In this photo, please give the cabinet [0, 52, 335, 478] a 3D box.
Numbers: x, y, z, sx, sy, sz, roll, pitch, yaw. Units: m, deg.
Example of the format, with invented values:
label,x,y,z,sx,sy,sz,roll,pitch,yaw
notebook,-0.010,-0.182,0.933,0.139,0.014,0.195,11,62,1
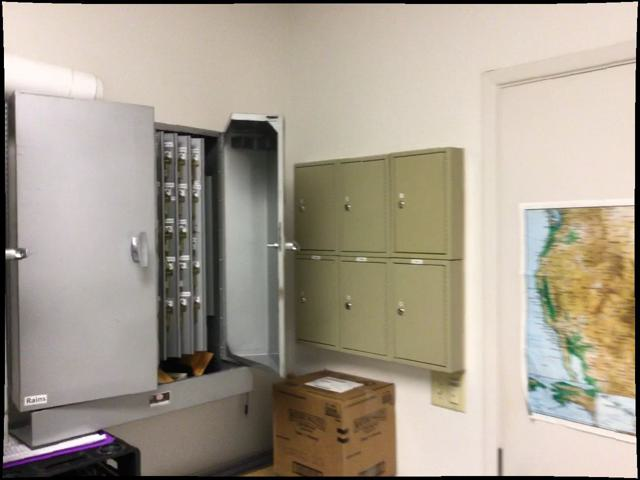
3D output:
label,x,y,z,sx,sy,sz,roll,pitch,yaw
cabinet,-0.400,0.040,1.500,0.450,0.781,0.790,0,1,44
